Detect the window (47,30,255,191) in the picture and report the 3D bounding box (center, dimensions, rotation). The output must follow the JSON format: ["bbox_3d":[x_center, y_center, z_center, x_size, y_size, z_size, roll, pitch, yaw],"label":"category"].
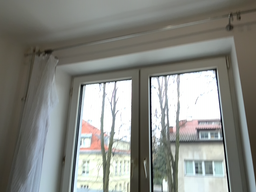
[{"bbox_3d":[0.100,0.500,1.620,1.580,1.840,0.180,-5,-18,22],"label":"window"}]
